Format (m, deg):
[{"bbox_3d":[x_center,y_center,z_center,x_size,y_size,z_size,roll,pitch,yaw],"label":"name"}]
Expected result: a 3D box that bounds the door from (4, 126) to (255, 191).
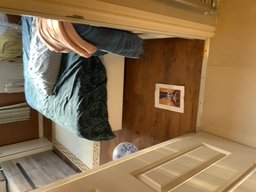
[{"bbox_3d":[-0.020,0.400,0.670,0.730,1.950,0.040,13,106,47],"label":"door"}]
